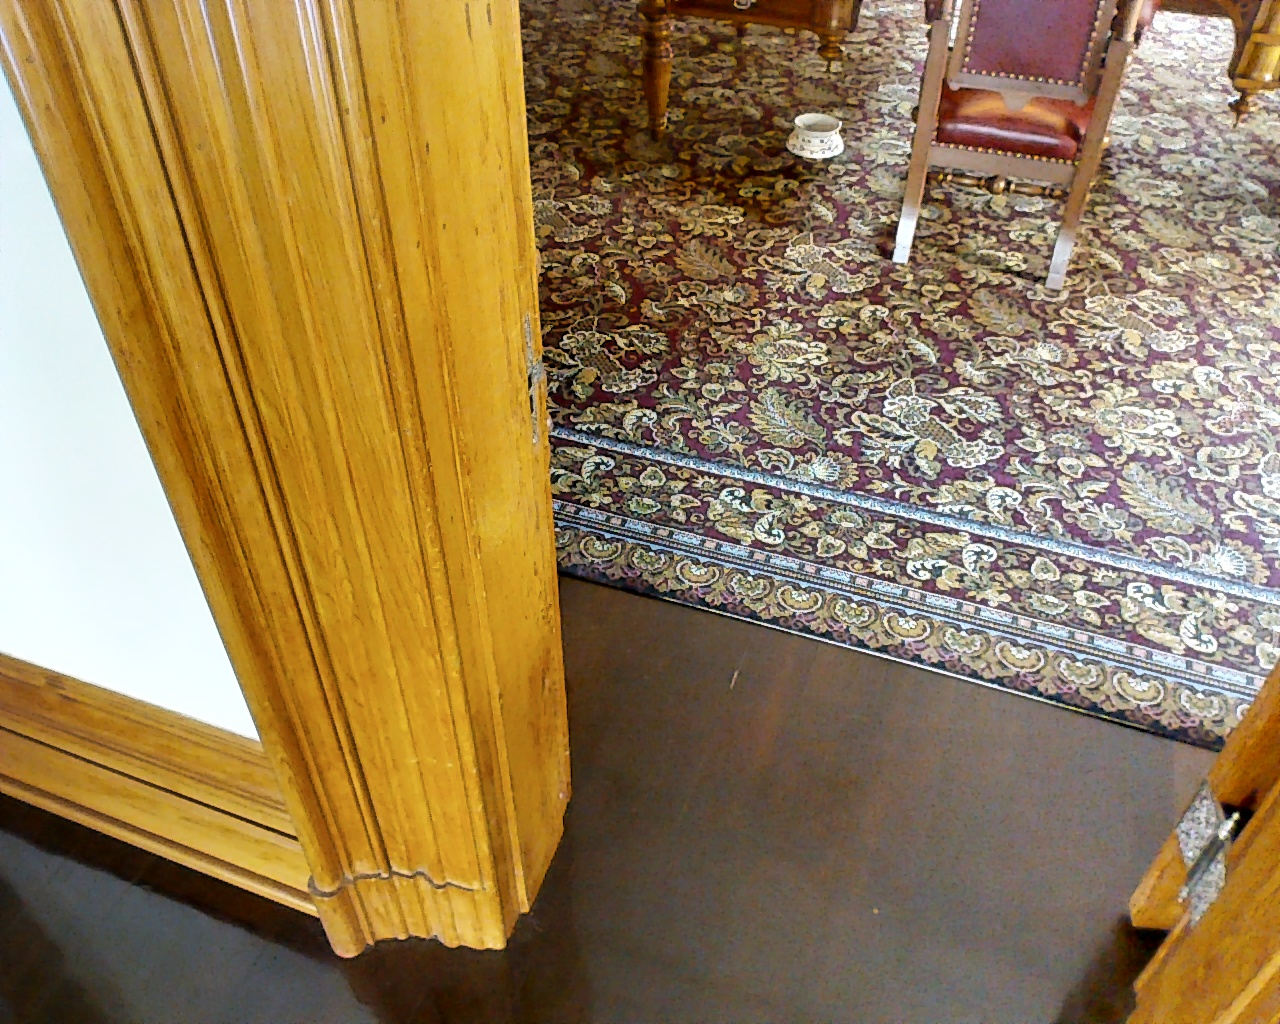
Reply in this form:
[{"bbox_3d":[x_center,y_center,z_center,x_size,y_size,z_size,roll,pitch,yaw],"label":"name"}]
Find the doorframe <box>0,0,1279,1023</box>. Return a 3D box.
[{"bbox_3d":[0.270,-0.510,0.480,1.510,3.200,0.420,14,44,15],"label":"doorframe"}]
